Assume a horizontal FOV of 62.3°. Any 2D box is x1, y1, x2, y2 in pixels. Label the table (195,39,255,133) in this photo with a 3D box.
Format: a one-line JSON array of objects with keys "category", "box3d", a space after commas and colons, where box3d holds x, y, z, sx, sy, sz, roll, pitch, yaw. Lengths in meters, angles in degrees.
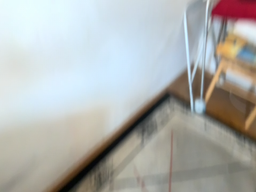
[{"category": "table", "box3d": [1.000, -0.110, 1.880, 0.500, 0.490, 0.500, 31, 47, 25]}]
